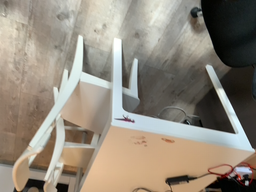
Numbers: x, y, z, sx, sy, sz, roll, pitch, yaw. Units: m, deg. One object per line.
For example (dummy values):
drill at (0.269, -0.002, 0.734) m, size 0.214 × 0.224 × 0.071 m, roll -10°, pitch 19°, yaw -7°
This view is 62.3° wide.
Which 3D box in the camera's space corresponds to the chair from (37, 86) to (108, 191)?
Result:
chair at (-0.400, 0.340, 1.680) m, size 0.400 × 0.790 × 0.330 m, roll 9°, pitch 134°, yaw -12°

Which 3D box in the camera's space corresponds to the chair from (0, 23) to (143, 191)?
chair at (-0.290, 0.070, 1.310) m, size 0.550 × 0.930 × 0.420 m, roll 22°, pitch 130°, yaw -23°
